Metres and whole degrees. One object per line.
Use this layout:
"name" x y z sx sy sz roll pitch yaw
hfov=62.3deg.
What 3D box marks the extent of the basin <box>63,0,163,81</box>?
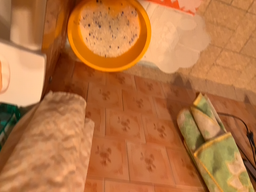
"basin" -0.080 -0.280 0.940 0.330 0.130 0.340 14 126 -16
